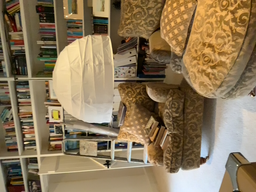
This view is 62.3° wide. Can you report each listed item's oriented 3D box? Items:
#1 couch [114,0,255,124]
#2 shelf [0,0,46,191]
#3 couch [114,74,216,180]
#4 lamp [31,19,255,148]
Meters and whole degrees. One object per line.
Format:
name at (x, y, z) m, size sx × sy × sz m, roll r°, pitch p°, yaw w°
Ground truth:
couch at (0.410, -0.710, 1.920) m, size 1.710 × 0.810 × 0.960 m, roll -106°, pitch 19°, yaw -52°
shelf at (-1.590, -0.400, 2.740) m, size 0.370 × 0.590 × 4.300 m, roll -117°, pitch 28°, yaw -65°
couch at (0.310, 0.240, 2.500) m, size 1.070 × 0.810 × 0.890 m, roll -135°, pitch 45°, yaw -74°
lamp at (0.110, -0.130, 1.790) m, size 0.700 × 1.500 × 0.730 m, roll -105°, pitch 18°, yaw -50°
